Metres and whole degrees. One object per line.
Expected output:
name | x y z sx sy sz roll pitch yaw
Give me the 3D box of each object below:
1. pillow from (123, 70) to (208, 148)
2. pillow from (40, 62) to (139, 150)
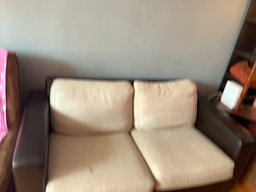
pillow | 0.340 0.100 1.940 0.620 0.510 0.230 -17 6 -12
pillow | -0.300 0.070 1.730 0.620 0.480 0.160 -22 0 -12
